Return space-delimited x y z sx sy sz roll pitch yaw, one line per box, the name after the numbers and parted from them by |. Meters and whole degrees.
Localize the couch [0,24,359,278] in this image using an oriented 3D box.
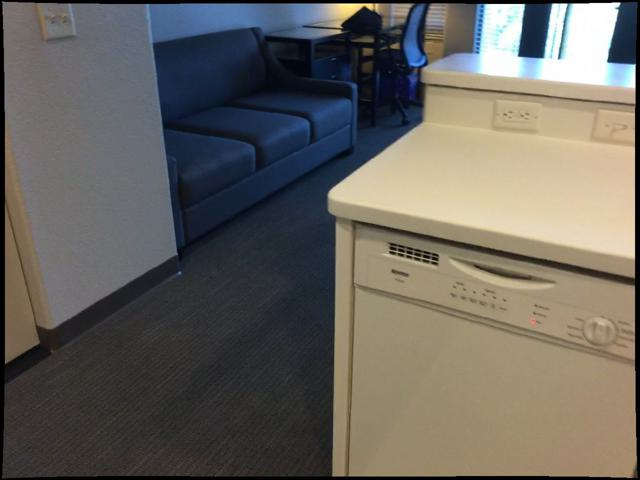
-0.618 -0.732 3.540 0.958 0.872 2.130 12 29 23 | couch
